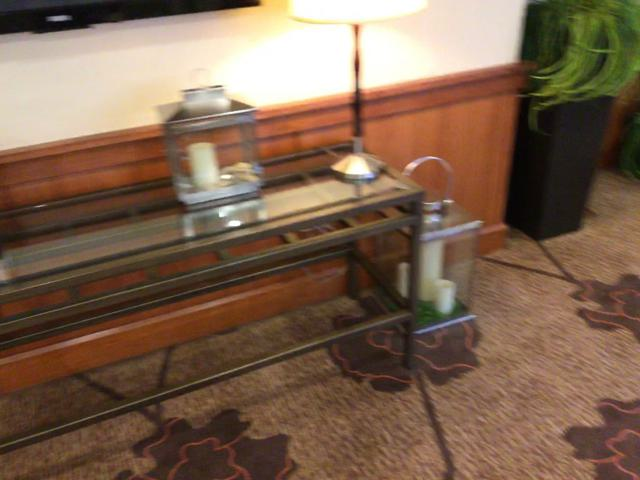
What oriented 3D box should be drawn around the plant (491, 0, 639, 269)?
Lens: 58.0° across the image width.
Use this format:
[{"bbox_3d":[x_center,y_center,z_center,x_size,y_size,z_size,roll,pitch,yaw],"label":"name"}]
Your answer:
[{"bbox_3d":[1.020,-0.930,2.300,0.500,1.990,0.390,-16,14,-21],"label":"plant"}]
